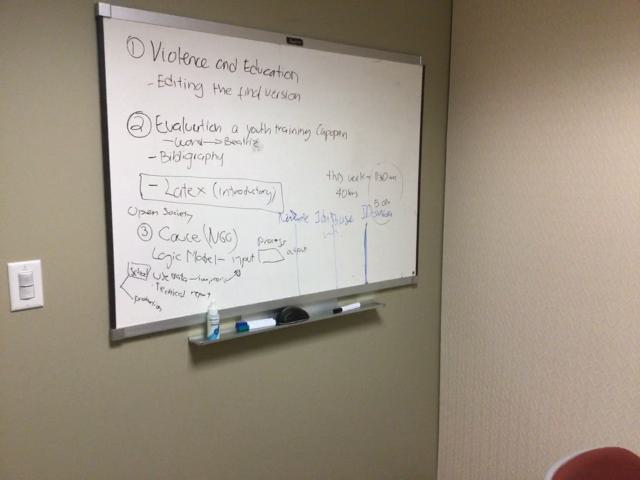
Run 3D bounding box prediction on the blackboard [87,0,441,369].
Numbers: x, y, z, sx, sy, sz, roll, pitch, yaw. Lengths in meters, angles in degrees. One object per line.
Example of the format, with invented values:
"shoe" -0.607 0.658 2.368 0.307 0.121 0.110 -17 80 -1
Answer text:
"blackboard" -0.080 -0.160 1.820 1.200 0.920 0.070 -4 9 -35
